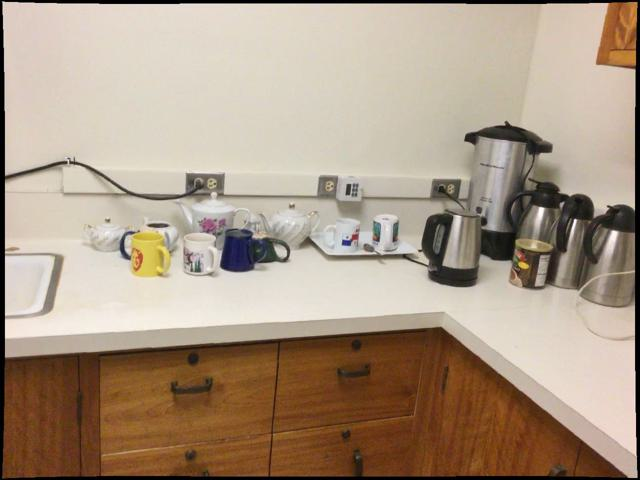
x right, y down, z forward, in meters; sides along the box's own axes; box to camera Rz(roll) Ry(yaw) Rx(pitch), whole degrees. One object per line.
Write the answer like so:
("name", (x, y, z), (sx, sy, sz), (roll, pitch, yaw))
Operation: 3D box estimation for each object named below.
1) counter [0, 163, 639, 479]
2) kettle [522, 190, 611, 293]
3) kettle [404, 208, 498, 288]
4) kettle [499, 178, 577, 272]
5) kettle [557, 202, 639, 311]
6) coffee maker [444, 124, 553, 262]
("counter", (0.030, 0.281, 0.690), (2.315, 0.341, 2.520), (-1, 16, -20))
("kettle", (0.718, 0.000, 1.690), (0.140, 0.271, 0.140), (-1, 16, -20))
("kettle", (0.369, 0.020, 1.640), (0.210, 0.200, 0.110), (-1, 16, -20))
("kettle", (0.688, -0.050, 1.830), (0.130, 0.271, 0.140), (-1, 16, -20))
("kettle", (0.798, 0.040, 1.580), (0.190, 0.261, 0.140), (-1, 16, -20))
("coffee maker", (0.578, -0.160, 1.910), (0.180, 0.411, 0.240), (-1, 16, -20))
